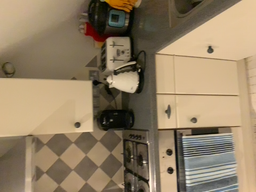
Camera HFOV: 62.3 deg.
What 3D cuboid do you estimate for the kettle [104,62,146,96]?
[{"bbox_3d":[-0.030,-0.110,1.520,0.250,0.220,0.190,159,110,-68],"label":"kettle"}]
